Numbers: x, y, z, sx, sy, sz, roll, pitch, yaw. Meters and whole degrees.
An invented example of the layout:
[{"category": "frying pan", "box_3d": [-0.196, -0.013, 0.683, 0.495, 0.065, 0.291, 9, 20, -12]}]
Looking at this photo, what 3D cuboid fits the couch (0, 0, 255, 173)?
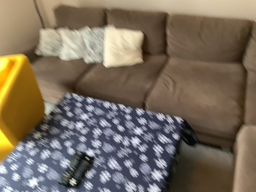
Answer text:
[{"category": "couch", "box_3d": [0.330, -0.280, 1.970, 3.130, 0.840, 1.130, 12, 44, 21]}]
